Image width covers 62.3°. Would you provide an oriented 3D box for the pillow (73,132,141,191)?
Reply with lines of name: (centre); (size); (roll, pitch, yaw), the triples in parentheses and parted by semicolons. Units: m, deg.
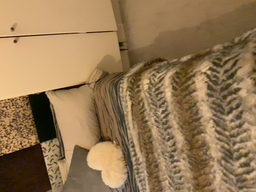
pillow: (-0.170, 0.560, 1.760); (0.410, 0.350, 0.180); (29, 169, -2)
